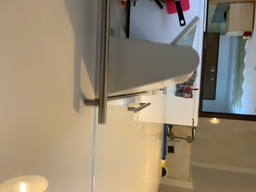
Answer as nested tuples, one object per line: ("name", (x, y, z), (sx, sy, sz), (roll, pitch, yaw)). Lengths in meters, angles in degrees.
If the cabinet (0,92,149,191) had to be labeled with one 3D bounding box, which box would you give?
("cabinet", (-0.190, 0.350, 0.680), (0.370, 0.680, 0.700), (4, -176, 15))
